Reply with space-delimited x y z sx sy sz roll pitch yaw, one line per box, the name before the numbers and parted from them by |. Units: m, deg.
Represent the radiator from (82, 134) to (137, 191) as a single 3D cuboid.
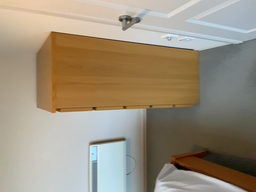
radiator | -0.200 0.830 2.360 0.130 0.600 0.740 7 97 60
